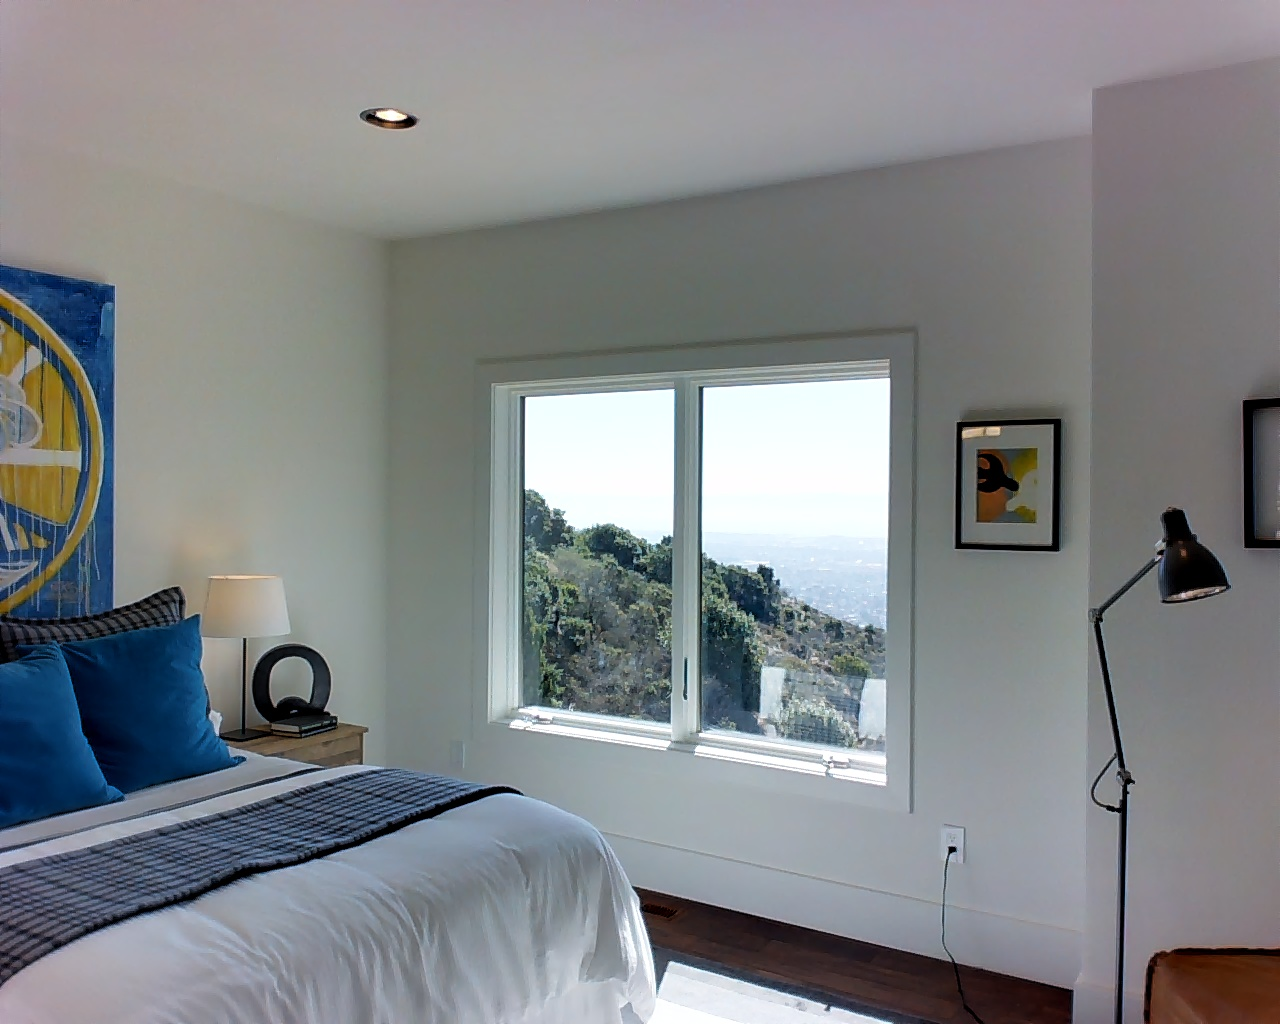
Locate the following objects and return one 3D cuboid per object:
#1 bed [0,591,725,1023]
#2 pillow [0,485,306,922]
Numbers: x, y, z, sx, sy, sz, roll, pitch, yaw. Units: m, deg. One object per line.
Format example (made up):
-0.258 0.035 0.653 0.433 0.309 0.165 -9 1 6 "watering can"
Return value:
-1.220 0.870 2.730 2.210 1.110 1.920 1 0 33 "bed"
-1.750 0.540 3.090 0.530 0.700 1.350 1 29 33 "pillow"
